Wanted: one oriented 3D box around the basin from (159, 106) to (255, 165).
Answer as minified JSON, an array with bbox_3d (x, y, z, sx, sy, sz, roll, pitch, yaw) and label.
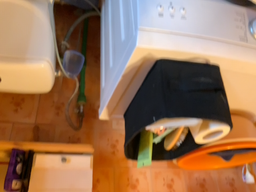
[{"bbox_3d":[0.320,0.170,0.810,0.280,0.110,0.310,7,148,-18],"label":"basin"}]
